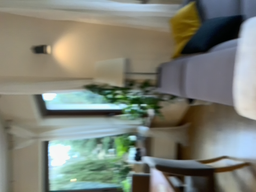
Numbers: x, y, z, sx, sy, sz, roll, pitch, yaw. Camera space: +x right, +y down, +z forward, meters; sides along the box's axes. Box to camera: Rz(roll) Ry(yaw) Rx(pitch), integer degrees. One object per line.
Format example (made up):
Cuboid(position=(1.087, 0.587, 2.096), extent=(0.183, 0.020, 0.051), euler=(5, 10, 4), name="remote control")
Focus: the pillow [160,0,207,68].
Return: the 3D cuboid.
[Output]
Cuboid(position=(0.580, -0.650, 2.360), extent=(0.680, 0.210, 0.650), euler=(-152, 63, -79), name="pillow")
